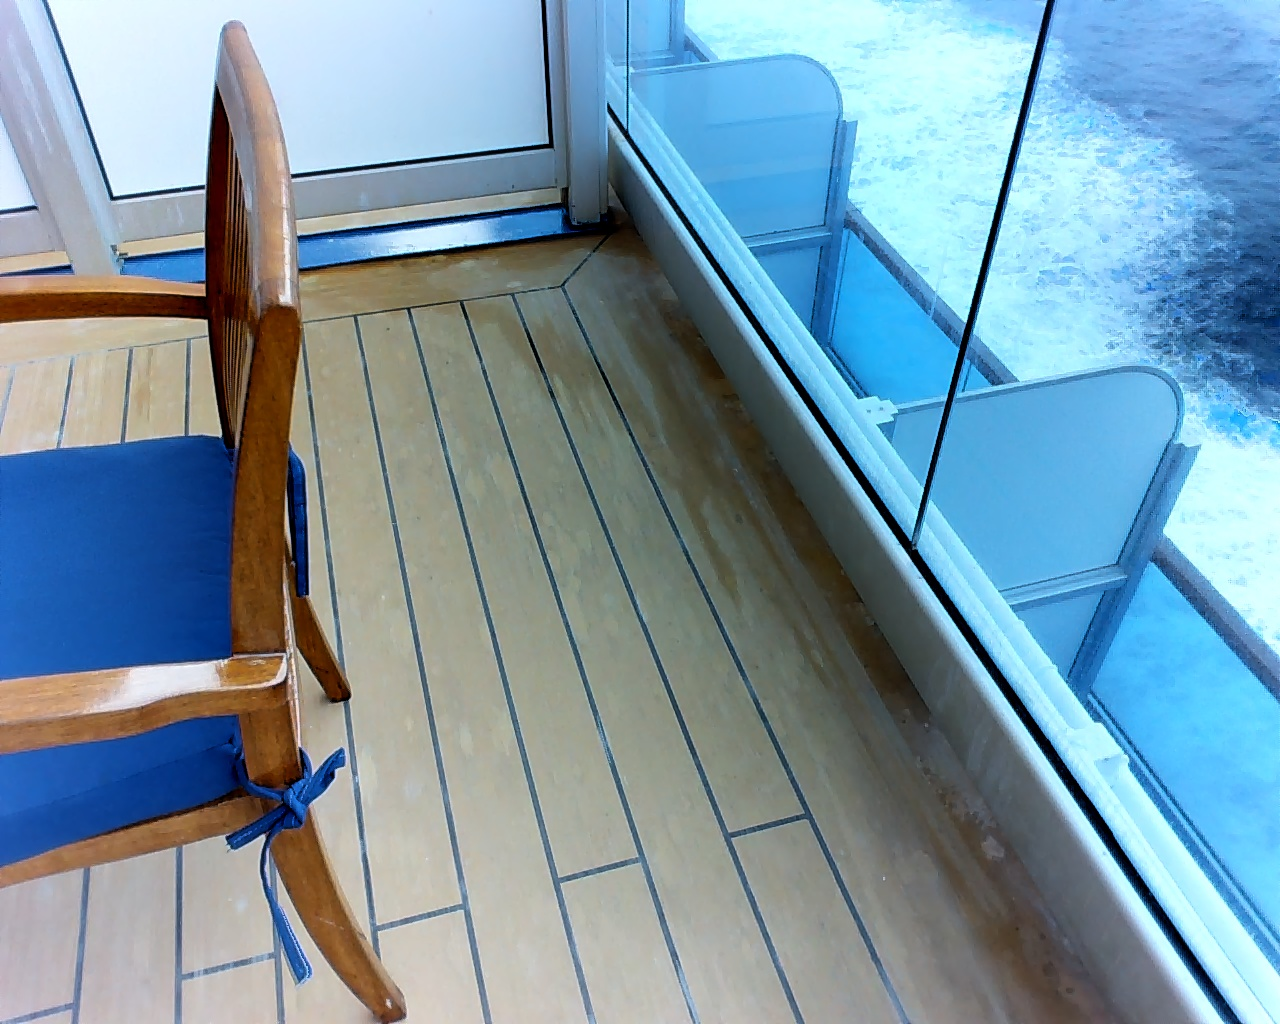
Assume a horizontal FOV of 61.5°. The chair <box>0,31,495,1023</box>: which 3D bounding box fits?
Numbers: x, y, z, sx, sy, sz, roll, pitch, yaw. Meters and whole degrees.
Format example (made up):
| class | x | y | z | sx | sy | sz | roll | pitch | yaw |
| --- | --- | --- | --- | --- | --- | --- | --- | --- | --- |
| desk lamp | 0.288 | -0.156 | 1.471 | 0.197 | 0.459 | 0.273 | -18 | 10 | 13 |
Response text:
| class | x | y | z | sx | sy | sz | roll | pitch | yaw |
| --- | --- | --- | --- | --- | --- | --- | --- | --- | --- |
| chair | -0.570 | 0.140 | 1.000 | 0.700 | 0.870 | 0.590 | -11 | 44 | -11 |
